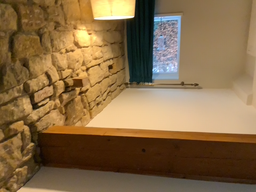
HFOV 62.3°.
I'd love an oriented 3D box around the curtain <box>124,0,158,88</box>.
[{"bbox_3d":[0.210,-1.360,3.290,0.500,2.500,0.210,0,-162,8],"label":"curtain"}]
